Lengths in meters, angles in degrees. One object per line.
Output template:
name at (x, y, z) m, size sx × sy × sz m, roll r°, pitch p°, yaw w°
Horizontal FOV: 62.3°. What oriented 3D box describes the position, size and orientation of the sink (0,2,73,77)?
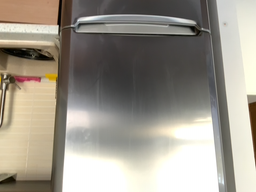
sink at (-0.510, -0.250, 1.070) m, size 0.380 × 0.170 × 0.460 m, roll 1°, pitch 168°, yaw -6°
